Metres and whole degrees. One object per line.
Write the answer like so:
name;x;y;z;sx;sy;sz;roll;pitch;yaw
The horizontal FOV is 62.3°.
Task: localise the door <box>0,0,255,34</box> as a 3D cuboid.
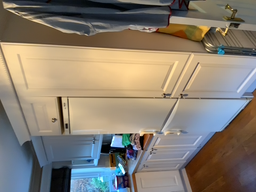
door;0.370;-0.710;1.500;1.150;2.040;0.070;-106;21;-50
